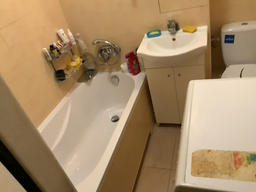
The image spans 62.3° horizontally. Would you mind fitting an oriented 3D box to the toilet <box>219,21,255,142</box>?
[{"bbox_3d":[0.960,-0.130,1.740,0.380,0.740,0.650,0,37,23],"label":"toilet"}]
